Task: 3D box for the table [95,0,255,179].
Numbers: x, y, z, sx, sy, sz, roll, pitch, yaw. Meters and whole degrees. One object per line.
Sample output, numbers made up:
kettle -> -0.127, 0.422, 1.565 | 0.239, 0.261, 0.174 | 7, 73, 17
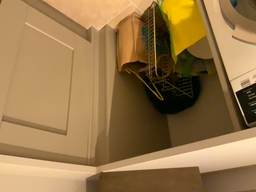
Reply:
table -> 0.250, -0.080, 1.150 | 0.620, 0.890, 0.570 | -26, 145, 35
